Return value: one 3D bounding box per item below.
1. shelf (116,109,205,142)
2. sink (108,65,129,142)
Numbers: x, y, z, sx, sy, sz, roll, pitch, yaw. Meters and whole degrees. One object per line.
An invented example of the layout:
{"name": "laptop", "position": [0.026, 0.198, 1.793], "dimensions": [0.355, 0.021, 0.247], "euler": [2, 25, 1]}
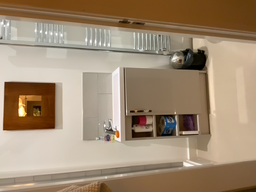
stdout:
{"name": "shelf", "position": [0.300, 0.260, 1.980], "dimensions": [0.280, 0.770, 0.250], "euler": [165, 104, -71]}
{"name": "sink", "position": [-0.090, 0.070, 1.890], "dimensions": [0.240, 0.110, 0.640], "euler": [165, 104, -71]}
